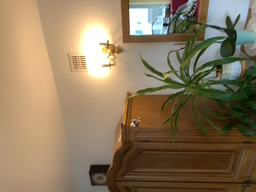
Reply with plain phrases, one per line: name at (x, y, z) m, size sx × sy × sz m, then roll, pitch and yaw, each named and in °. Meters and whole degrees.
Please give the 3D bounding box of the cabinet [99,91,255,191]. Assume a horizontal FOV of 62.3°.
cabinet at (0.790, 0.570, 2.080) m, size 0.630 × 1.960 × 1.060 m, roll -85°, pitch -6°, yaw -60°
